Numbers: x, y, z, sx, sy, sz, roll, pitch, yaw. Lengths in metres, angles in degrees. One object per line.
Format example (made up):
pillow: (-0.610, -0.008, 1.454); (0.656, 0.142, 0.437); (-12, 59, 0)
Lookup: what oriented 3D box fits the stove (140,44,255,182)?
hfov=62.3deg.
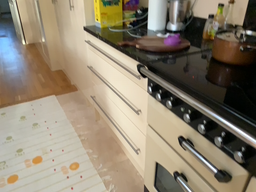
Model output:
stove: (0.570, 0.030, 0.780); (0.670, 0.140, 0.910); (-15, 33, -25)
